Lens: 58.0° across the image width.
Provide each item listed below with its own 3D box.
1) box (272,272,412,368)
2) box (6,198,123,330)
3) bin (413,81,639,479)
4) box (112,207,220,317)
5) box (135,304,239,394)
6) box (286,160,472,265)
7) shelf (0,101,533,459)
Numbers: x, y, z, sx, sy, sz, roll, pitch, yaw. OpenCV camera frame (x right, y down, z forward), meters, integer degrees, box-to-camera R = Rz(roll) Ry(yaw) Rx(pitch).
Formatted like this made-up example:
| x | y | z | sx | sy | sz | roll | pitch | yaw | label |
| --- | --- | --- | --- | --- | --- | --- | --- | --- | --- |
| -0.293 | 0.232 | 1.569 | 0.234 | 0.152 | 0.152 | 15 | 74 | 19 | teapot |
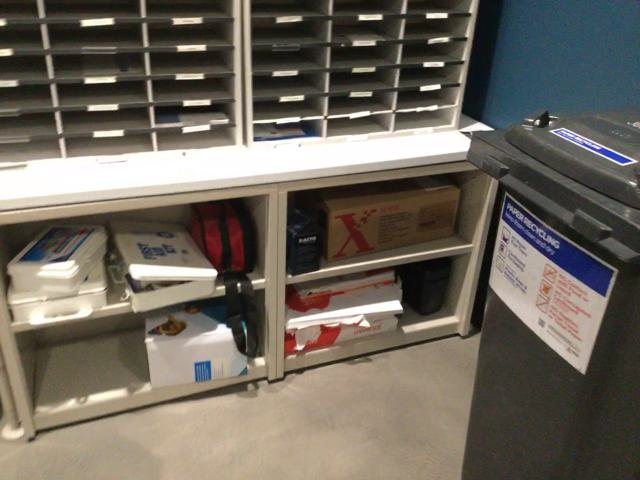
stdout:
| x | y | z | sx | sy | sz | roll | pitch | yaw | label |
| --- | --- | --- | --- | --- | --- | --- | --- | --- | --- |
| 0.070 | 0.260 | 1.930 | 0.430 | 0.200 | 0.150 | -8 | 29 | -21 | box |
| -0.710 | 0.050 | 1.620 | 0.250 | 0.180 | 0.370 | -8 | 29 | -21 | box |
| 0.610 | 0.250 | 1.300 | 0.570 | 1.030 | 0.510 | -13 | 31 | -18 | bin |
| -0.460 | 0.050 | 1.700 | 0.250 | 0.140 | 0.350 | -8 | 29 | -21 | box |
| -0.400 | 0.330 | 1.770 | 0.290 | 0.190 | 0.160 | -2 | 28 | -11 | box |
| 0.190 | -0.110 | 1.980 | 0.540 | 0.200 | 0.300 | -8 | 29 | -21 | box |
| -0.230 | 0.040 | 1.850 | 1.650 | 0.790 | 0.490 | -8 | 29 | -21 | shelf |
